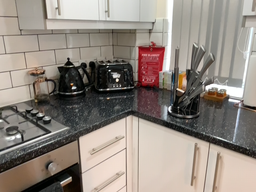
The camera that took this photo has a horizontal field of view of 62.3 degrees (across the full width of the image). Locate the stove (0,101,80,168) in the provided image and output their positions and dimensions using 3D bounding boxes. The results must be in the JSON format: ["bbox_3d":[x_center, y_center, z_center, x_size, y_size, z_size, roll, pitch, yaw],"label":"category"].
[{"bbox_3d":[-0.610,0.160,0.960,0.590,0.020,0.520,15,23,40],"label":"stove"}]
